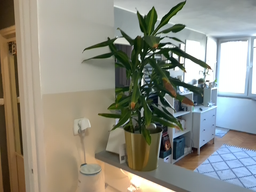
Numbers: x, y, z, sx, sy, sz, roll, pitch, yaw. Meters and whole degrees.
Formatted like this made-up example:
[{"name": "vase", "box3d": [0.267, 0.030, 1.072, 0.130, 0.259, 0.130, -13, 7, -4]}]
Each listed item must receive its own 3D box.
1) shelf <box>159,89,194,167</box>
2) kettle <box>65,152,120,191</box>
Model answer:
[{"name": "shelf", "box3d": [0.890, 0.530, 3.850, 0.270, 1.240, 0.710, 7, 11, 41]}, {"name": "kettle", "box3d": [-0.190, 0.480, 1.150, 0.210, 0.250, 0.200, 8, 11, 42]}]
